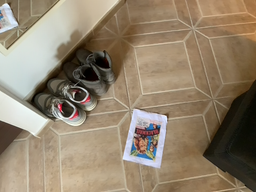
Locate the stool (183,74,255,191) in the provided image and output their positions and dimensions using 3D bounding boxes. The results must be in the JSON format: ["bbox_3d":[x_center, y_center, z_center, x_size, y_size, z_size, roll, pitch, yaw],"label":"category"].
[{"bbox_3d":[0.630,0.240,1.020,0.430,0.390,0.480,36,74,9],"label":"stool"}]
